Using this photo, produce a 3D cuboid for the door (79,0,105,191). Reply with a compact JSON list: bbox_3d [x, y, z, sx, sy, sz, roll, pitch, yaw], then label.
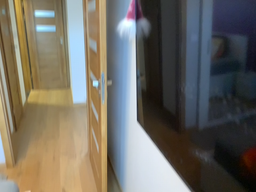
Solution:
[{"bbox_3d":[-0.320,-0.090,1.840,0.140,2.070,0.950,-2,20,-12],"label":"door"}]
